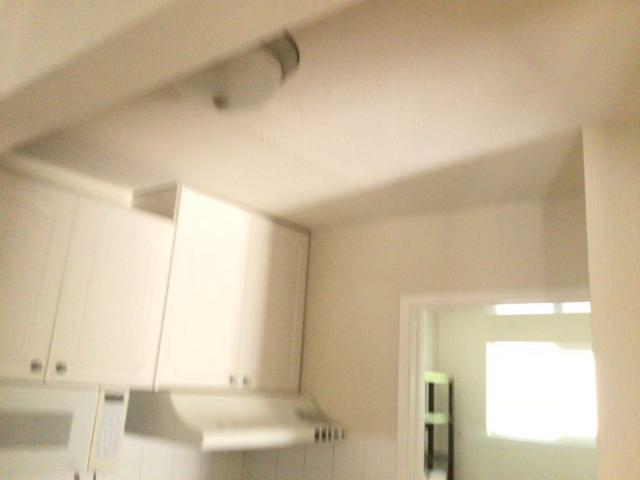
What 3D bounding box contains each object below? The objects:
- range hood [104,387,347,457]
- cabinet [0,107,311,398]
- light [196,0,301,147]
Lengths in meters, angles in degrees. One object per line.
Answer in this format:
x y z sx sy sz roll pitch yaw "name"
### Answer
-0.330 0.670 2.210 0.530 0.200 0.750 -12 -18 36 "range hood"
-0.650 0.160 2.110 0.390 0.780 1.490 -12 -18 36 "cabinet"
-0.150 -0.350 1.220 0.190 0.240 0.110 -11 -18 36 "light"
